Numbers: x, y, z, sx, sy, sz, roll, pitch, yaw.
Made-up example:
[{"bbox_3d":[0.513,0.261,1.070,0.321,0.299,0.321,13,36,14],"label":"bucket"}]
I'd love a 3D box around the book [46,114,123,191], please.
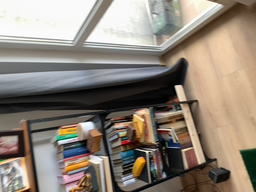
[{"bbox_3d":[-0.300,0.410,1.360,0.370,0.280,0.480,-33,68,52],"label":"book"}]

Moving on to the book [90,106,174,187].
[{"bbox_3d":[0.010,0.380,1.600,0.400,0.370,0.470,-32,69,52],"label":"book"}]

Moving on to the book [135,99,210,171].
[{"bbox_3d":[0.370,0.330,1.820,0.320,0.390,0.500,-31,69,52],"label":"book"}]
